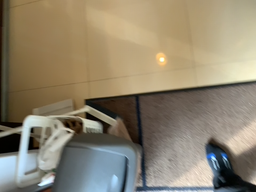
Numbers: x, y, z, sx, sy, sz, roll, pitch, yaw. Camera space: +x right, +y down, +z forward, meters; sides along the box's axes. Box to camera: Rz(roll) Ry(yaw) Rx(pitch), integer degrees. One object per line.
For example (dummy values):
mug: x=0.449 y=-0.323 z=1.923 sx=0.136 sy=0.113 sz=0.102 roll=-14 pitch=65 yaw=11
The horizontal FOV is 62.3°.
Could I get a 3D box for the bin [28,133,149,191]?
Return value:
bin: x=-0.100 y=0.330 z=0.840 sx=0.280 sy=0.520 sz=0.330 roll=3 pitch=82 yaw=13
